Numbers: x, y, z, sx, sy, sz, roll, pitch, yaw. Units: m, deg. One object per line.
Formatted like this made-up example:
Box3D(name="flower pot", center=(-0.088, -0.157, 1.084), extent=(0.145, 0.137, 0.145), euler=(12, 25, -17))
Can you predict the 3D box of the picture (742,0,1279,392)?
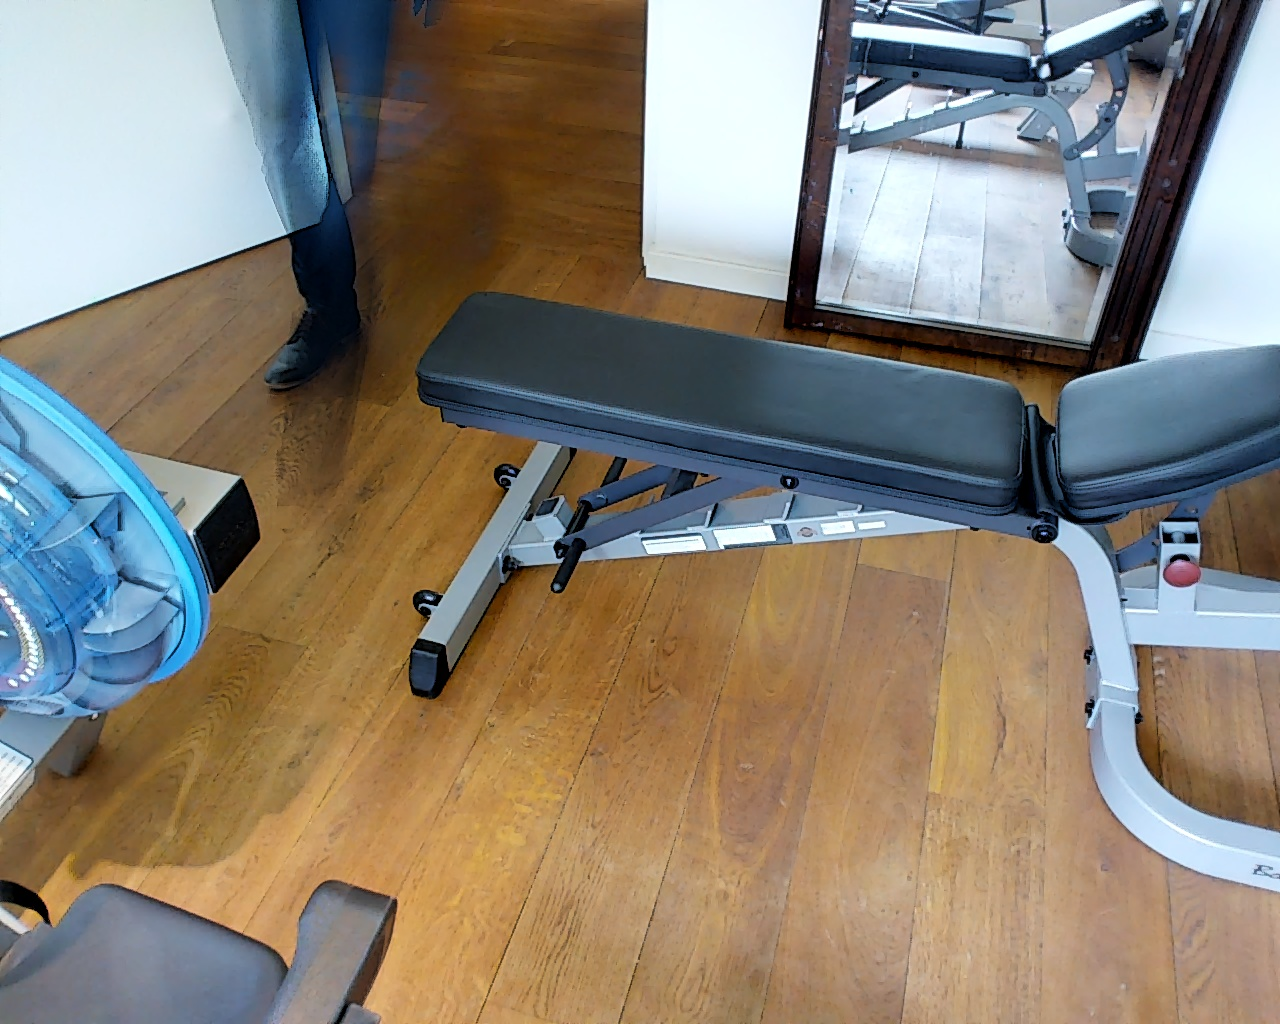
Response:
Box3D(name="picture", center=(0.780, -1.160, 2.080), extent=(0.970, 1.850, 0.290), euler=(12, 43, 12))
